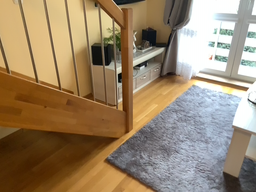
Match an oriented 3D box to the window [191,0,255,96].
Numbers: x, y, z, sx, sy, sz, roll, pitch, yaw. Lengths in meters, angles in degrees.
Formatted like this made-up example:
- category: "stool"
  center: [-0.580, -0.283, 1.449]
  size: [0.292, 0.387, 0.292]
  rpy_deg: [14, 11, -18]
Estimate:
- category: "window"
  center: [1.660, -1.210, 2.850]
  size: [1.260, 2.410, 0.230]
  rpy_deg: [17, 32, 29]
